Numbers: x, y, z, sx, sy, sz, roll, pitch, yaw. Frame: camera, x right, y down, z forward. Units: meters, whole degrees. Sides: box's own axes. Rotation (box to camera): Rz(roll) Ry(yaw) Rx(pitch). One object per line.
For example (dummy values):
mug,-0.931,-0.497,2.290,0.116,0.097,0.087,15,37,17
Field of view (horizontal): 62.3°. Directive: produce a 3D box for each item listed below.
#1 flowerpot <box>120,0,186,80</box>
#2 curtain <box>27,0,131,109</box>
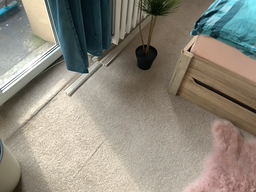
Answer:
flowerpot,0.170,-0.600,1.220,0.300,1.110,0.290,24,57,12
curtain,-0.180,-0.970,0.520,0.260,2.950,0.500,36,59,19
